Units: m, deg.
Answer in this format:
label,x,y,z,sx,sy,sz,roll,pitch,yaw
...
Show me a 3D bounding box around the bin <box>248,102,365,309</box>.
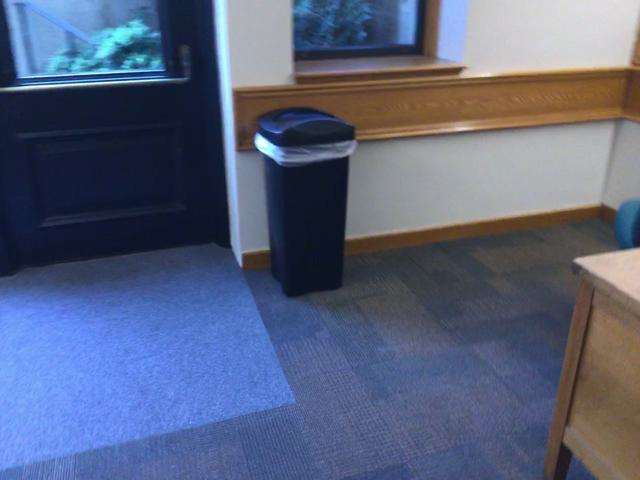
label,x,y,z,sx,sy,sz,roll,pitch,yaw
bin,-0.060,-0.170,2.630,0.380,0.830,0.360,-10,21,-15
